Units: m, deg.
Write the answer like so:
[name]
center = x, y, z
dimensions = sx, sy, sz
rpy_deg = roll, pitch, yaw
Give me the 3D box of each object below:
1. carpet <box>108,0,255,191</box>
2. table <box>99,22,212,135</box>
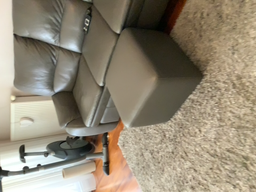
[carpet]
center = 0.480, 0.200, 1.520
dimensions = 1.550, 0.050, 2.130
rpy_deg = 58, 138, 35
[table]
center = 0.150, -0.120, 1.570
dimensions = 0.530, 0.430, 0.560
rpy_deg = 62, 140, 32
